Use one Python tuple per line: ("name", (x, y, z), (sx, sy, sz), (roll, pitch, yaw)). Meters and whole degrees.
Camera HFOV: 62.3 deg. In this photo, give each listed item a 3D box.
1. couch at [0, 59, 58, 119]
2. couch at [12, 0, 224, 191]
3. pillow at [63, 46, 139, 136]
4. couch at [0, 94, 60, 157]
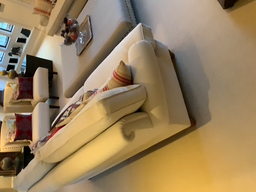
("couch", (-2.110, -0.100, 4.500), (0.900, 0.880, 0.810), (-39, 54, 40))
("couch", (-0.430, 0.300, 2.260), (2.240, 0.930, 1.100), (-39, 53, 40))
("pillow", (-0.160, 0.020, 1.700), (0.800, 0.430, 0.270), (85, 167, -63))
("couch", (-1.960, 0.620, 4.120), (0.910, 0.900, 0.850), (-38, 54, 41))
